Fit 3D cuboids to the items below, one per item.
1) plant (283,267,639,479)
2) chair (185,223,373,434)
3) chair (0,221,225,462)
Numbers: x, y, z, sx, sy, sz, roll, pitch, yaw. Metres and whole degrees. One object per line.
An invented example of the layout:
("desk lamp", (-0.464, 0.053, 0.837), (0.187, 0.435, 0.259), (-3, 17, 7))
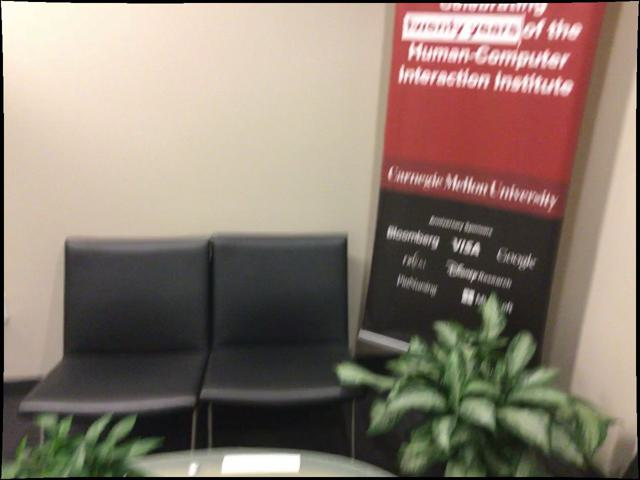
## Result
("plant", (0.409, 0.481, 1.820), (0.998, 0.411, 0.870), (-4, 21, -4))
("chair", (-0.150, 0.291, 2.220), (0.589, 0.471, 0.710), (-4, 21, -4))
("chair", (-0.738, 0.321, 2.150), (0.668, 0.541, 0.730), (-4, 21, -4))
